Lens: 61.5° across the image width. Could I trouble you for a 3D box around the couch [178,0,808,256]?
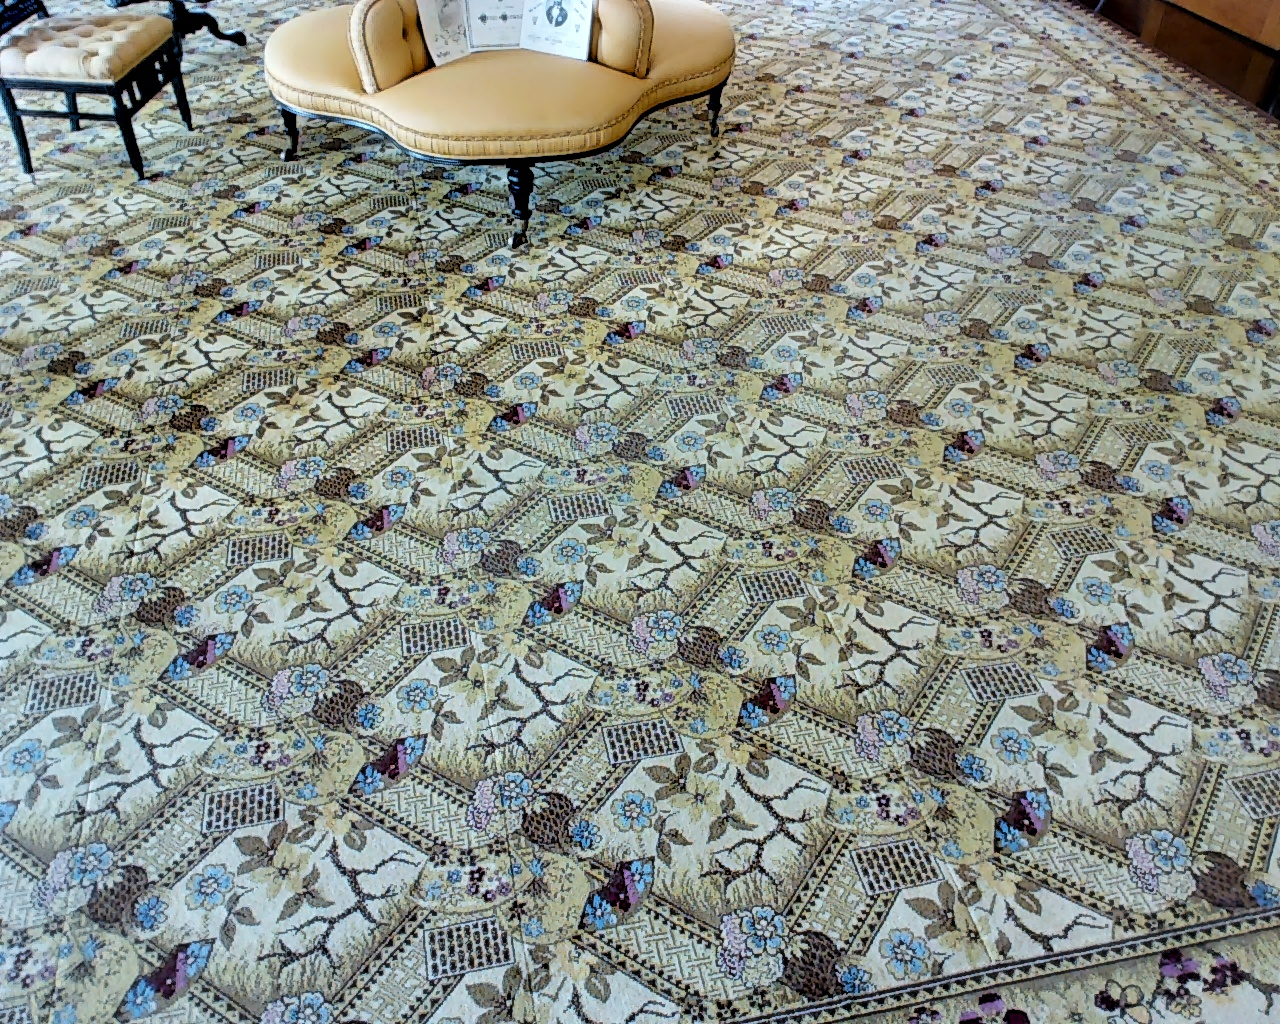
[{"bbox_3d":[-0.450,-1.780,3.620,1.530,0.900,1.480,25,47,25],"label":"couch"}]
